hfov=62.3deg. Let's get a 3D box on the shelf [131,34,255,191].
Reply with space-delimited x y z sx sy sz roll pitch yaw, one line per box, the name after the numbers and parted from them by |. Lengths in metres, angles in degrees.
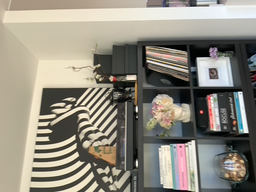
0.800 0.340 1.560 0.410 1.540 1.560 83 -172 -73 | shelf
